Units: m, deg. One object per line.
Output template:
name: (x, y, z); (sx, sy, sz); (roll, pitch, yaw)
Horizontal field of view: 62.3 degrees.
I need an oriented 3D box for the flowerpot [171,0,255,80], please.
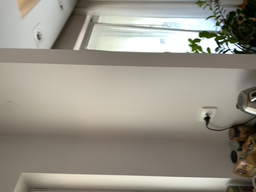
flowerpot: (1.130, -0.590, 1.970); (0.920, 1.240, 0.580); (-89, 1, -63)
